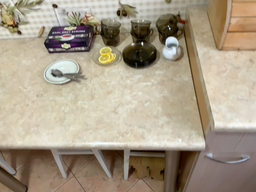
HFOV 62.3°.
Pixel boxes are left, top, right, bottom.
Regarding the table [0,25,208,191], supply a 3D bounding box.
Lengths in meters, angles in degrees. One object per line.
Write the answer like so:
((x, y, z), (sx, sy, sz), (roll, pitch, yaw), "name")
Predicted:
((-0.240, 0.150, 1.120), (1.040, 0.750, 0.600), (0, 50, 7), "table")
